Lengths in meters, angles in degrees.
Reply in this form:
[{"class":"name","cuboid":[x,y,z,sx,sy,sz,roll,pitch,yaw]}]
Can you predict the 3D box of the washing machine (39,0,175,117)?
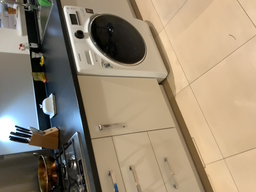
[{"class":"washing machine","cuboid":[-0.240,-0.300,1.970,0.750,0.890,0.680,-44,57,47]}]
